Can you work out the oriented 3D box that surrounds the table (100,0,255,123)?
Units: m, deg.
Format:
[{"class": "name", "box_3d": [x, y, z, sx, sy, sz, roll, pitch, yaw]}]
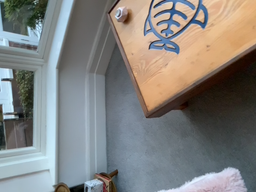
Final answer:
[{"class": "table", "box_3d": [0.320, -0.420, 1.190, 0.830, 0.340, 0.850, -38, 63, 39]}]

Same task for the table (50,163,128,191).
[{"class": "table", "box_3d": [-0.310, 0.810, 1.760, 0.310, 0.500, 0.300, -43, 60, 36]}]
